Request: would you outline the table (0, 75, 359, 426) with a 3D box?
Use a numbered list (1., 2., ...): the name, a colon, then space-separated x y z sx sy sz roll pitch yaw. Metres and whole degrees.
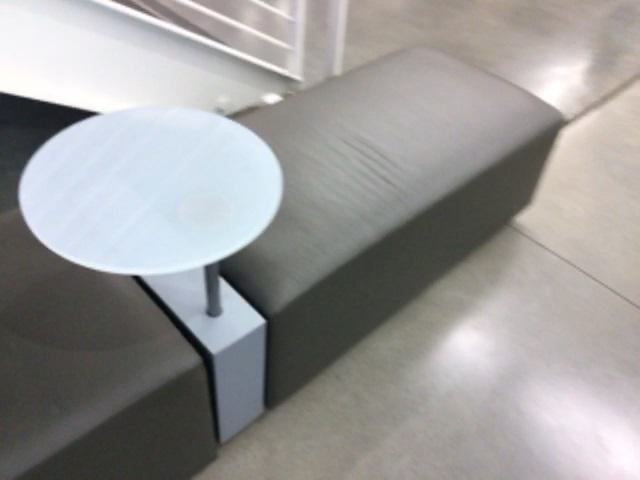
1. table: -0.270 -0.030 0.990 0.500 0.210 0.420 -29 54 -30
